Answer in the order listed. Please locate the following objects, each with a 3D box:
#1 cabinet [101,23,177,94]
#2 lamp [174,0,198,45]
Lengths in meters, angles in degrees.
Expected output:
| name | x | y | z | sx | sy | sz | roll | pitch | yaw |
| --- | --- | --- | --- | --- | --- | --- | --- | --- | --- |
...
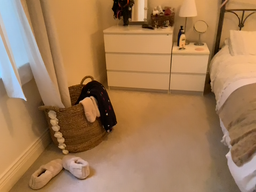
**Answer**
| name | x | y | z | sx | sy | sz | roll | pitch | yaw |
| --- | --- | --- | --- | --- | --- | --- | --- | --- | --- |
| cabinet | 0.170 | -0.510 | 2.760 | 0.850 | 0.760 | 0.520 | 4 | 27 | 13 |
| lamp | 0.700 | -0.900 | 2.590 | 0.230 | 0.510 | 0.220 | 4 | 27 | 12 |
